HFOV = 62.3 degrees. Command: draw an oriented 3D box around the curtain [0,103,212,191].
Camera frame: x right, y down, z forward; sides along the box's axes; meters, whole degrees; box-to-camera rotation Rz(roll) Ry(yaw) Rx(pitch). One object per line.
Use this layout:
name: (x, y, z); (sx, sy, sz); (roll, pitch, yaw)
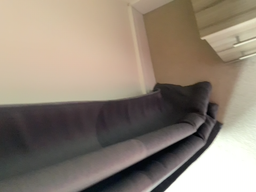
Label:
curtain: (-0.320, 0.170, 0.230); (0.270, 2.450, 0.280); (-15, 79, 31)
